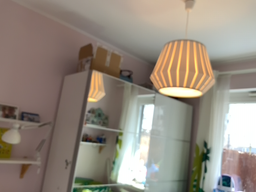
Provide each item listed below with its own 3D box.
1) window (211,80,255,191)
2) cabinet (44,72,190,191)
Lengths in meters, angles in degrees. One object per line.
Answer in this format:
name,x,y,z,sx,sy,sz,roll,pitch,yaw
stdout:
window,1.750,0.740,2.940,0.120,1.970,1.130,16,-13,-38
cabinet,-0.040,1.100,2.940,1.940,2.340,0.610,16,-13,-40
